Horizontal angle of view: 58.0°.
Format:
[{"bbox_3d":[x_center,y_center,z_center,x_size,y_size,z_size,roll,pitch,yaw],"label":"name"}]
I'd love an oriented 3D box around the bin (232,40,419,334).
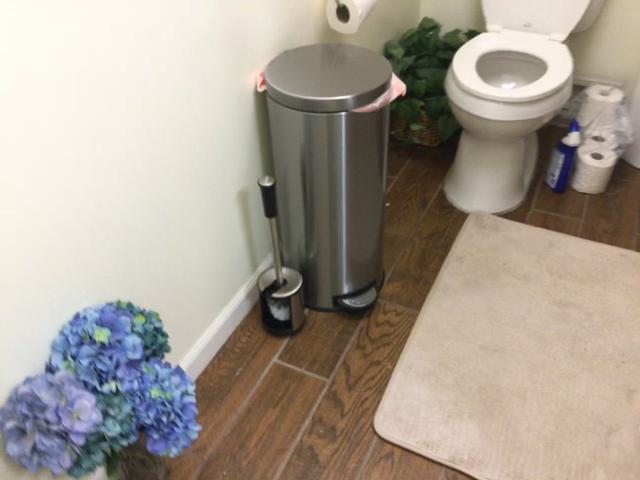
[{"bbox_3d":[0.040,-0.130,1.510,0.320,0.650,0.310,15,43,23],"label":"bin"}]
